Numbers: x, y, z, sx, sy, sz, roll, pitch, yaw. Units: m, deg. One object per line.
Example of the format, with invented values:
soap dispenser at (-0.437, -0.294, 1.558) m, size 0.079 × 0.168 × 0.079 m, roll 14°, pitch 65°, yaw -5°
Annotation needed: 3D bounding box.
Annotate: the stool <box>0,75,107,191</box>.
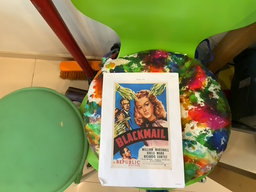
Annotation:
stool at (-0.290, 0.150, 0.810) m, size 0.330 × 0.480 × 0.330 m, roll 6°, pitch 80°, yaw 2°
